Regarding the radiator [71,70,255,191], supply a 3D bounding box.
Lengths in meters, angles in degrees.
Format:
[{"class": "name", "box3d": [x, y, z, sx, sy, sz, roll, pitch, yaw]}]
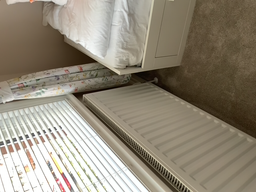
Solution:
[{"class": "radiator", "box3d": [0.300, 0.130, 1.280, 1.190, 0.820, 0.150, 30, 124, 44]}]
